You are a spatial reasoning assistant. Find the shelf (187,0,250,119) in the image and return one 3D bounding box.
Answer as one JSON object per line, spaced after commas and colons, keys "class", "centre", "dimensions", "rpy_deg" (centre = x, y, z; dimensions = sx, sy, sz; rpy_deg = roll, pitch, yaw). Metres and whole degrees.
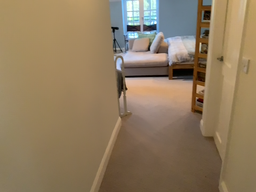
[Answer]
{"class": "shelf", "centre": [1.240, -0.560, 2.970], "dimensions": [0.710, 1.590, 0.370], "rpy_deg": [-20, 28, -34]}
